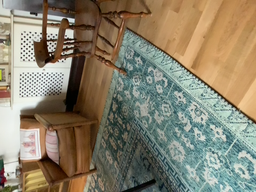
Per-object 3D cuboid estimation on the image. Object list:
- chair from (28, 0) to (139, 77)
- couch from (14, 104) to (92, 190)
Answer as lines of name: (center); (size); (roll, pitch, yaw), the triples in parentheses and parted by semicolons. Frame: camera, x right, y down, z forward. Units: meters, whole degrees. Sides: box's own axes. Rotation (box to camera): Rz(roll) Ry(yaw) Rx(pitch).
chair: (-0.450, -0.600, 1.970); (0.630, 0.750, 0.600); (50, 132, 41)
couch: (-1.070, 0.590, 2.950); (0.970, 0.770, 0.780); (11, 103, 55)
